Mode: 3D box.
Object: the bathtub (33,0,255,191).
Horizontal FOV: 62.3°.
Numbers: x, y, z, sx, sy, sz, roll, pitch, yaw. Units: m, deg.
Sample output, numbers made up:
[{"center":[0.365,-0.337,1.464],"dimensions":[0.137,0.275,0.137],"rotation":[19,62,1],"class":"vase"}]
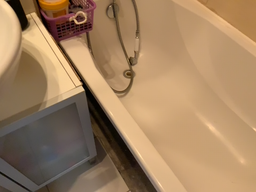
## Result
[{"center":[0.220,0.090,0.980],"dimensions":[0.670,0.570,1.380],"rotation":[-27,62,-21],"class":"bathtub"}]
